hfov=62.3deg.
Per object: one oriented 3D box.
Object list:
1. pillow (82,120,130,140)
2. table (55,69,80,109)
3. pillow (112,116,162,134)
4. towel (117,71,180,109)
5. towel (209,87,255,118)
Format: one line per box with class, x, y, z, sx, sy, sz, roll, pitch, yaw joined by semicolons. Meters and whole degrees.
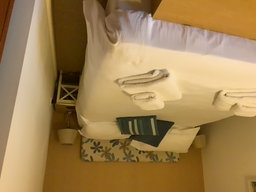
pillow;-0.280;0.430;2.600;0.500;0.150;0.460;6;160;-15
table;-0.790;-0.080;2.780;0.270;0.420;0.320;6;161;-15
pillow;0.100;0.330;2.360;0.520;0.150;0.270;-1;161;5
towel;0.150;-0.020;1.360;0.340;0.090;0.380;-5;160;15
towel;0.810;0.060;1.580;0.330;0.090;0.440;-4;161;13
